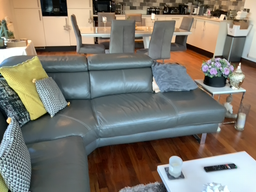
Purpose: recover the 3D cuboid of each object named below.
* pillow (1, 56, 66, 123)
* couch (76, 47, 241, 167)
[{"bbox_3d":[-0.790,-0.080,1.820,0.150,0.470,0.460,29,17,0],"label":"pillow"},{"bbox_3d":[0.180,-0.010,2.240,1.320,0.750,1.030,-5,25,-14],"label":"couch"}]
